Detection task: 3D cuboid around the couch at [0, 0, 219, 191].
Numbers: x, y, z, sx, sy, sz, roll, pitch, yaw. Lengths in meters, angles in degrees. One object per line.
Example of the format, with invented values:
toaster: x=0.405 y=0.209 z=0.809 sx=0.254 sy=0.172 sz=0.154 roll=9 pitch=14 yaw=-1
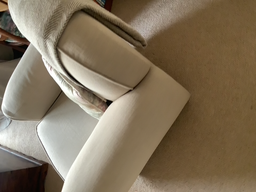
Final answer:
couch: x=-0.260 y=0.050 z=1.060 sx=0.910 sy=0.830 sz=0.790 roll=44 pitch=107 yaw=29
